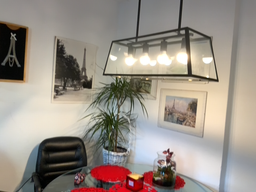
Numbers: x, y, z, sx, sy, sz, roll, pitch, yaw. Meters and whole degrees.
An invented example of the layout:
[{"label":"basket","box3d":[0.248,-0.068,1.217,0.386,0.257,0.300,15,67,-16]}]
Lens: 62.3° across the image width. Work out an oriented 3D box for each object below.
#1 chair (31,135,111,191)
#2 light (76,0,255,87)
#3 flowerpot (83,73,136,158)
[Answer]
[{"label":"chair","box3d":[-0.580,0.900,2.000,0.530,0.900,0.680,3,3,-30]},{"label":"light","box3d":[0.260,-0.370,1.780,0.840,0.480,1.190,3,3,-44]},{"label":"flowerpot","box3d":[-0.230,0.200,2.520,0.390,0.900,0.440,3,3,-36]}]
